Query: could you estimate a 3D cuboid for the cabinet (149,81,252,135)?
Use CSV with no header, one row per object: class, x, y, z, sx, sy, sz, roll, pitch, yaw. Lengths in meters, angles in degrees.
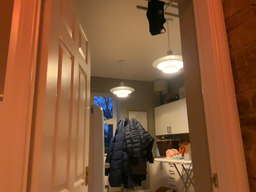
cabinet,1.240,0.380,4.350,0.370,0.720,2.400,5,-15,-25
